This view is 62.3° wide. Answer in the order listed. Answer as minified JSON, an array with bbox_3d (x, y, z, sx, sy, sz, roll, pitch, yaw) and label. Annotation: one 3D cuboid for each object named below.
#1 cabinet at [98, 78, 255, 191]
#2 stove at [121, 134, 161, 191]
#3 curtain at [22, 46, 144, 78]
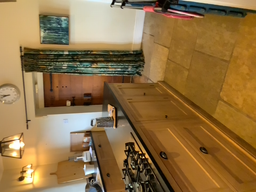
[{"bbox_3d":[0.580,0.790,1.590,3.740,0.910,0.700,-128,41,-60],"label":"cabinet"},{"bbox_3d":[0.080,0.710,1.620,0.750,0.020,0.510,-128,41,-60],"label":"stove"},{"bbox_3d":[-0.720,-0.580,3.730,0.250,2.020,0.440,-127,40,-60],"label":"curtain"}]
